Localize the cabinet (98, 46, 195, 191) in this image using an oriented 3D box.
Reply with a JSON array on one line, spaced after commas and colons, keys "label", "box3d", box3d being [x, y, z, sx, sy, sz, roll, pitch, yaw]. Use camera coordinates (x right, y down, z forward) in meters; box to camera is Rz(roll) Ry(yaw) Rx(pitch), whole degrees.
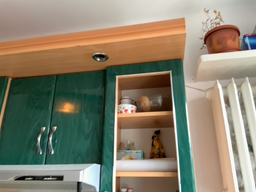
[{"label": "cabinet", "box3d": [0.100, 0.210, 1.070, 0.390, 0.860, 0.280, -3, -22, 11]}]
